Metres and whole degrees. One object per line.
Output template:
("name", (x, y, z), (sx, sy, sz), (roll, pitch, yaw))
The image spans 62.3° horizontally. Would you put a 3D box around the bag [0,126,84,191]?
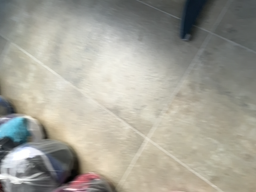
("bag", (-0.530, 0.400, 1.170), (0.310, 0.350, 0.330), (-39, 73, 15))
